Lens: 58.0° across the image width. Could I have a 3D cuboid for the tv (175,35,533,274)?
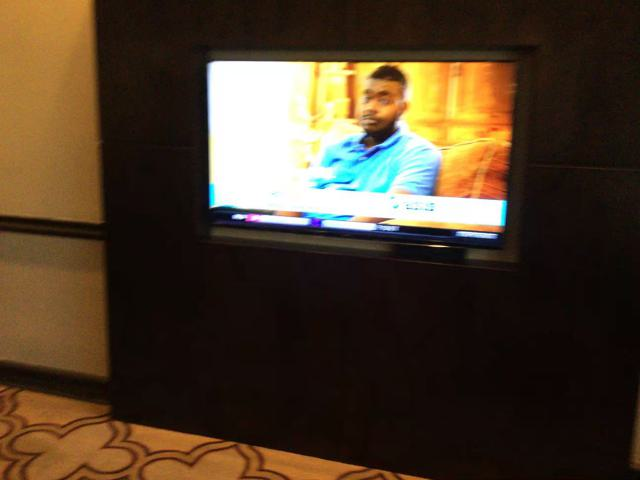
[{"bbox_3d":[0.110,-0.350,2.310,1.290,0.810,0.390,4,7,13],"label":"tv"}]
